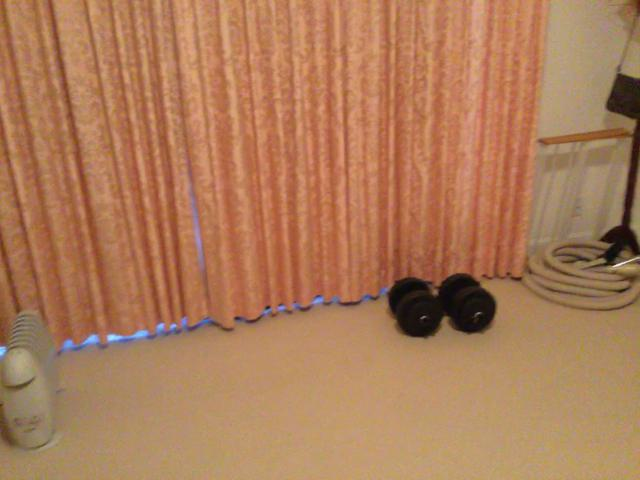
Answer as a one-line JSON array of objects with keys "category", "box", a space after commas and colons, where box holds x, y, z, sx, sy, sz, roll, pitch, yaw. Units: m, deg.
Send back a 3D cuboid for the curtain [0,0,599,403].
[{"category": "curtain", "box": [-0.460, -0.630, 2.350, 3.270, 2.250, 0.430, -9, 17, -11]}]
